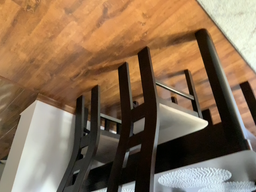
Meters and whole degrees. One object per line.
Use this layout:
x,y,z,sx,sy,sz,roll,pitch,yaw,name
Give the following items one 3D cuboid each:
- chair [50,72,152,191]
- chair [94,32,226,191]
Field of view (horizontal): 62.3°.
-0.180,0.430,1.580,0.540,1.030,0.410,28,135,-34,chair
0.170,0.220,1.280,0.560,1.030,0.410,28,135,-34,chair
